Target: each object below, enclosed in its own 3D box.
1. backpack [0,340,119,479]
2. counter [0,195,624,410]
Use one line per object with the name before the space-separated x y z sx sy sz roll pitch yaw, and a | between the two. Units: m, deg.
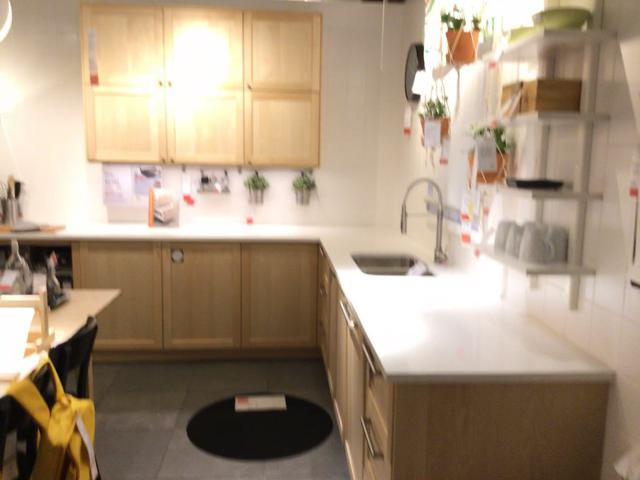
backpack | -0.830 0.660 1.840 0.270 0.580 0.370 3 8 -6
counter | -1.260 0.040 2.880 3.840 0.220 3.110 3 8 -7
